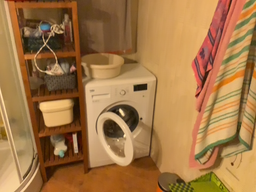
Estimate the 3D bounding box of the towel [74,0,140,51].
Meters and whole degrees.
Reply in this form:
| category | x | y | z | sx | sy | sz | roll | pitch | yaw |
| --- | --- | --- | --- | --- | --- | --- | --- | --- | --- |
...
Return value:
| category | x | y | z | sx | sy | sz | roll | pitch | yaw |
| --- | --- | --- | --- | --- | --- | --- | --- | --- | --- |
| towel | -0.170 | -0.710 | 1.780 | 0.520 | 0.610 | 0.140 | -8 | 29 | -20 |
